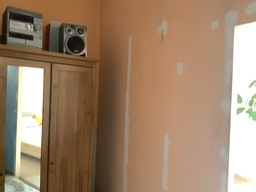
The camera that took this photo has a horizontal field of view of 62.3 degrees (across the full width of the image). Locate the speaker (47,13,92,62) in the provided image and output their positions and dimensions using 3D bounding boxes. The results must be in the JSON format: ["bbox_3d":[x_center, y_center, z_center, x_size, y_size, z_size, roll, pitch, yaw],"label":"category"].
[{"bbox_3d":[-0.610,-0.570,2.180,0.270,0.370,0.480,1,1,-38],"label":"speaker"}]
